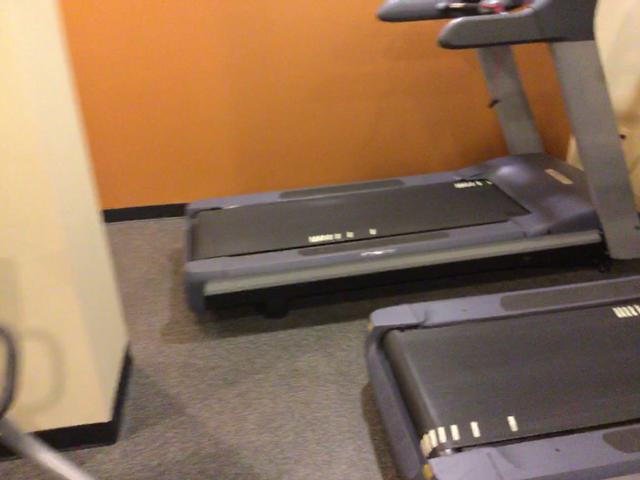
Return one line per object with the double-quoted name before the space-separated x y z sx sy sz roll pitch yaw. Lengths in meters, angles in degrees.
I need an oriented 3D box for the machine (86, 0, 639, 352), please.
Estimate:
"machine" 0.330 -0.760 2.560 2.260 1.840 1.010 -9 23 -7
